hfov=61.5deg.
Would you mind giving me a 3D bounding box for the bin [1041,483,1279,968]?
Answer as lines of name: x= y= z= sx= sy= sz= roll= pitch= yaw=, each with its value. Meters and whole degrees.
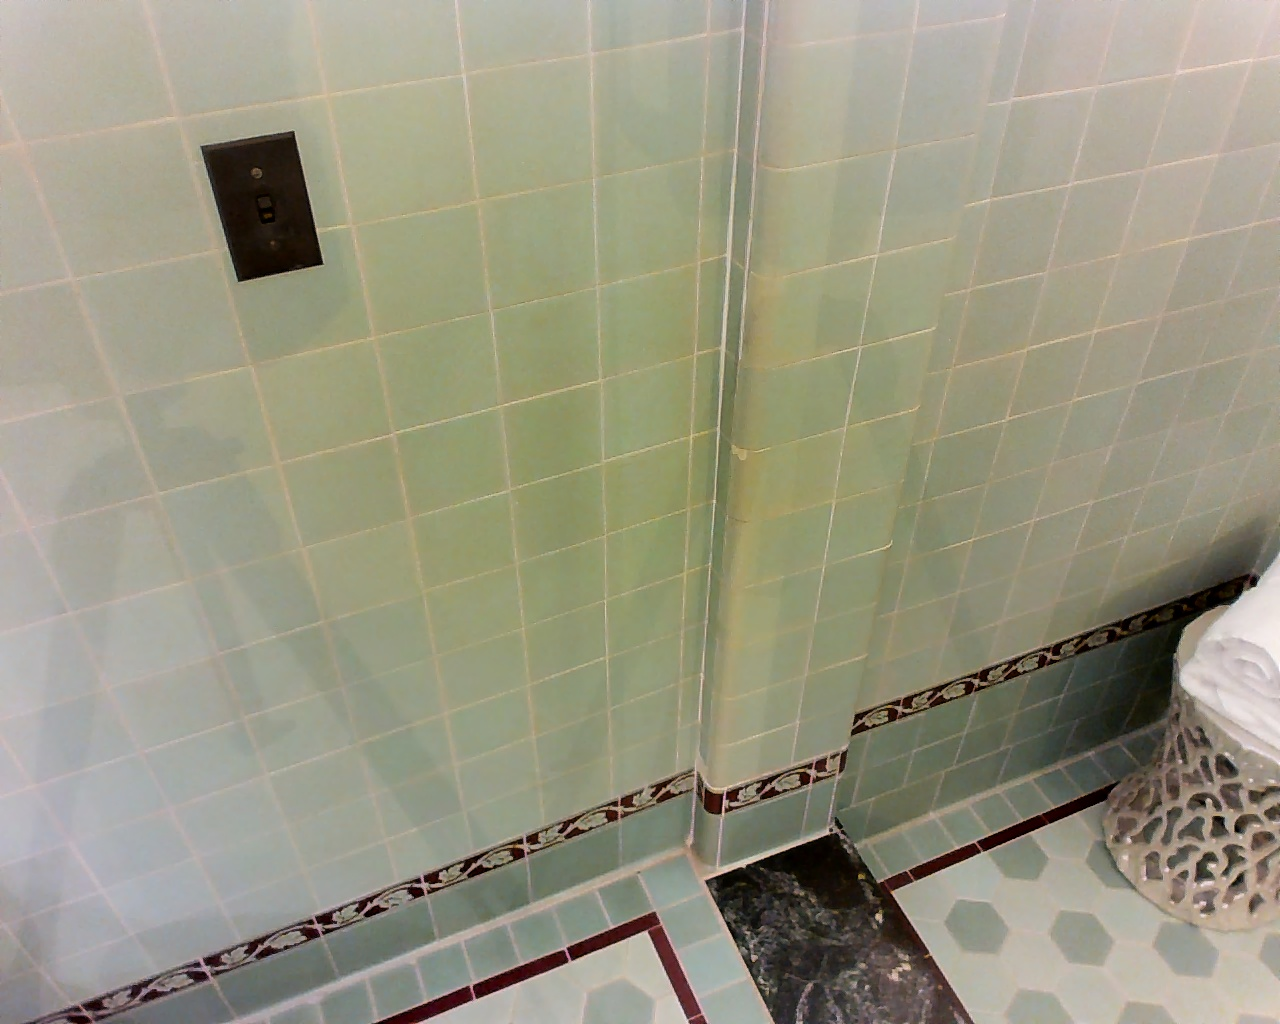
bin: x=1.050 y=0.350 z=1.810 sx=0.380 sy=0.640 sz=0.430 roll=-17 pitch=45 yaw=-18
